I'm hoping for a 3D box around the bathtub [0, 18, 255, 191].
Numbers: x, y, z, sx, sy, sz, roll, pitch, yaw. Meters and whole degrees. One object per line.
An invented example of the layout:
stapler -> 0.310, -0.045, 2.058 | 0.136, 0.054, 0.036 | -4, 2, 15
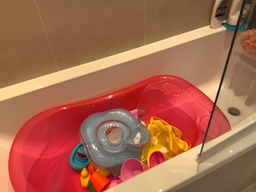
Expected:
bathtub -> 0.040, 0.220, 1.000 | 1.650, 0.560, 0.690 | -21, 46, -17
